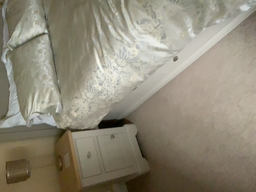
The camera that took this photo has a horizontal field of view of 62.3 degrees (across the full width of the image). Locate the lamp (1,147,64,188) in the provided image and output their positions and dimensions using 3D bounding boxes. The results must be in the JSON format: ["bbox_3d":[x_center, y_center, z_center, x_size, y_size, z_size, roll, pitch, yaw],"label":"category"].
[{"bbox_3d":[-0.760,0.560,1.680,0.260,0.400,0.170,-43,57,46],"label":"lamp"}]

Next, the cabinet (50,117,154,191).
[{"bbox_3d":[-0.250,0.540,1.880,0.490,0.670,0.490,-43,57,46],"label":"cabinet"}]

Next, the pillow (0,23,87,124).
[{"bbox_3d":[-0.770,-0.210,1.760,0.250,0.420,0.750,-38,97,28],"label":"pillow"}]
